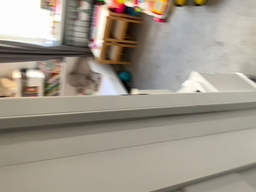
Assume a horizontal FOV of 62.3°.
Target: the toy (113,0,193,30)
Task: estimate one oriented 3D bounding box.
[{"bbox_3d":[0.260,-1.050,2.290,0.520,0.630,0.390,60,141,42],"label":"toy"}]
